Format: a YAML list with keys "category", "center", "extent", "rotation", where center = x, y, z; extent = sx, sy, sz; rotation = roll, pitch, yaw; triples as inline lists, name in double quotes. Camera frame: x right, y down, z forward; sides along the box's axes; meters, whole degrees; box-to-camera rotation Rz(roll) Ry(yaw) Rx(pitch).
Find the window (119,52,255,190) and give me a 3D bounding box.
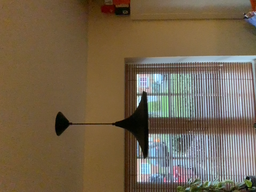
- category: "window"
  center: [0.540, 0.190, 1.810]
  extent: [0.100, 1.210, 1.130]
  rotation: [70, -160, -83]
